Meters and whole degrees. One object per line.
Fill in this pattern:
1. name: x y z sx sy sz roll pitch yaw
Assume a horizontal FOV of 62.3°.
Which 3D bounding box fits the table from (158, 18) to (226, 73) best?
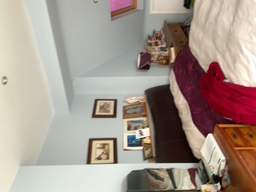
1. table: 1.080 -0.990 3.940 1.460 0.790 0.440 -93 2 -53
